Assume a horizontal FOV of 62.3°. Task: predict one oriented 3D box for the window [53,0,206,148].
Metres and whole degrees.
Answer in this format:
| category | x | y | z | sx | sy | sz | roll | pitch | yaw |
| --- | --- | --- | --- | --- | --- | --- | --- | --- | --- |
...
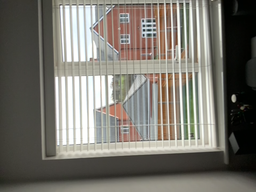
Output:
| category | x | y | z | sx | sy | sz | roll | pitch | yaw |
| --- | --- | --- | --- | --- | --- | --- | --- | --- | --- |
| window | 0.020 | -0.180 | 1.540 | 0.070 | 1.050 | 1.040 | 178 | 89 | -87 |
